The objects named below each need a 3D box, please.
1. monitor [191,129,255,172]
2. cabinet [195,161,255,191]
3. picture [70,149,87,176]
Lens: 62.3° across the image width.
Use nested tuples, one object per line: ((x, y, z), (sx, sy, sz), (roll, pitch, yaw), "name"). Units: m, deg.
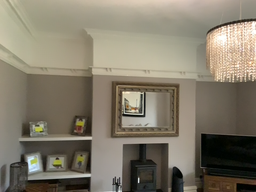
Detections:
((1.730, 0.970, 3.810), (1.130, 0.670, 0.060), (1, -1, 15), "monitor")
((1.750, 1.540, 3.830), (0.980, 0.480, 0.640), (1, -1, 15), "cabinet")
((-0.870, 1.160, 3.740), (0.260, 0.380, 0.280), (2, -1, -12), "picture")
